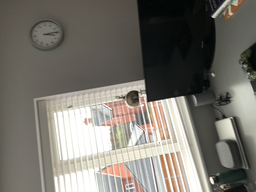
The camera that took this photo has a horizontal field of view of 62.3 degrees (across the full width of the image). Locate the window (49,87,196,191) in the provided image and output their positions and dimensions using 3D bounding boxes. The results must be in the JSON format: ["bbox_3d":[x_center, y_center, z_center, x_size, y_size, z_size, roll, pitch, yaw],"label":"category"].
[{"bbox_3d":[-0.050,0.520,1.750,0.070,1.050,1.040,101,158,-75],"label":"window"}]

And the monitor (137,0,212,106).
[{"bbox_3d":[0.330,-0.320,1.470,0.070,0.470,0.750,-113,14,-64],"label":"monitor"}]
